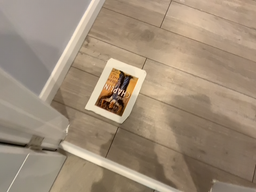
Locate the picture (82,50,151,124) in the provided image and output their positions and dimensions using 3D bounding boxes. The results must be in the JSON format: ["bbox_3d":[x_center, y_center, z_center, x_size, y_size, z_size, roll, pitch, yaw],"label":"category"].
[{"bbox_3d":[-0.050,-0.050,1.030,0.240,0.030,0.310,19,74,4],"label":"picture"}]
